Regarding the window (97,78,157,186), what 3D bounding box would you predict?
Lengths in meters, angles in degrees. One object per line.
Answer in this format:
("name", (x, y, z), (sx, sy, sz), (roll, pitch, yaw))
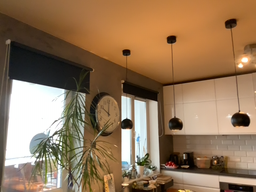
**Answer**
("window", (0.030, 0.610, 3.790), (0.360, 1.620, 1.220), (-8, -12, 37))
